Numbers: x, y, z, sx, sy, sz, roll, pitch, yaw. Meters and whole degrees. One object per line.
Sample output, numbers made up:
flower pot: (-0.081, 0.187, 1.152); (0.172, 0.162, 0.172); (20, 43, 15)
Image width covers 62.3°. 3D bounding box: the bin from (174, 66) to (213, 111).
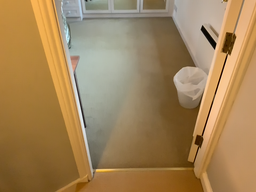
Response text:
bin: (0.620, -0.080, 2.080); (0.290, 0.280, 0.330); (5, 39, 6)
